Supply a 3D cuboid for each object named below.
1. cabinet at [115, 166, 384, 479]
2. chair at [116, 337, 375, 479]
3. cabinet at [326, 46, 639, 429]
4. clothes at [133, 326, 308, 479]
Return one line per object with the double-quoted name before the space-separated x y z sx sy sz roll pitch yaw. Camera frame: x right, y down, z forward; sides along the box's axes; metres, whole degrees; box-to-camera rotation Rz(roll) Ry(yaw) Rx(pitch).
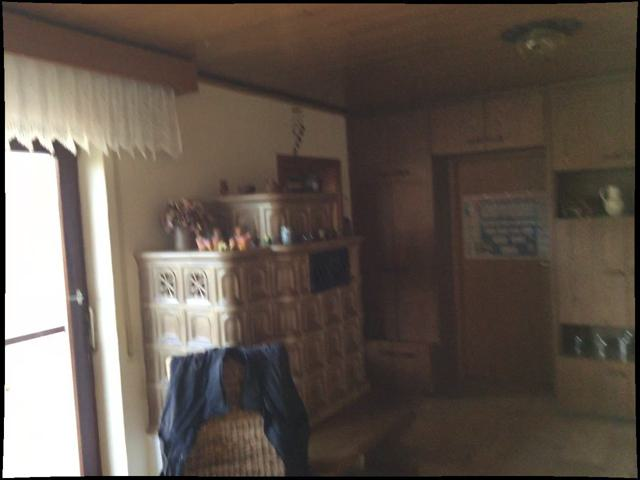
"cabinet" -0.310 0.380 3.320 0.839 1.522 1.300 0 5 31
"chair" -0.290 0.971 2.190 0.789 0.971 0.760 -4 5 -15
"cabinet" 1.908 -0.020 4.240 3.717 2.462 0.790 0 5 31
"clothes" -0.420 0.881 2.460 0.639 0.891 0.440 -4 5 -15
